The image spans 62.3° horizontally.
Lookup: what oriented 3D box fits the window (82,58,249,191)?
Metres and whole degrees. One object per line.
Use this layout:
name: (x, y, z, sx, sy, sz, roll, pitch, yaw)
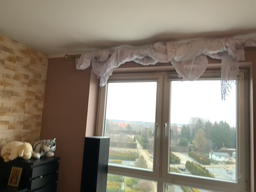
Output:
window: (0.360, 0.560, 2.480, 1.810, 1.920, 0.230, 1, -7, 20)
